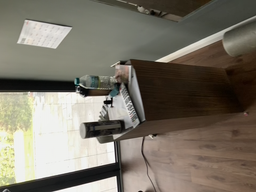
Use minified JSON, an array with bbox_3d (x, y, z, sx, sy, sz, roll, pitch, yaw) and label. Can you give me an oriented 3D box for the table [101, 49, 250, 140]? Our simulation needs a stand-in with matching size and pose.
[{"bbox_3d":[0.290,0.010,1.220,0.320,0.780,0.340,-31,65,51],"label":"table"}]
